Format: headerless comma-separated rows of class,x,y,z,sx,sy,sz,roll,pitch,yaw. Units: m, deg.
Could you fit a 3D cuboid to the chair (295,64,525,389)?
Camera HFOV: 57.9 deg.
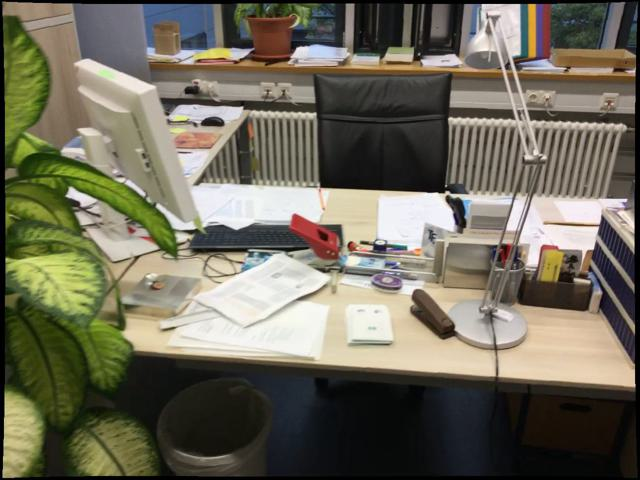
chair,0.250,-0.080,2.220,0.659,1.011,0.730,-2,28,-2

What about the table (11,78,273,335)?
table,-0.709,-0.250,2.790,0.669,0.771,1.210,4,28,8

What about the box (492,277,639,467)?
box,0.829,0.430,2.030,0.340,0.330,0.570,4,28,8

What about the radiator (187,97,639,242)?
radiator,0.589,-0.430,3.340,2.647,0.620,0.350,4,28,8
